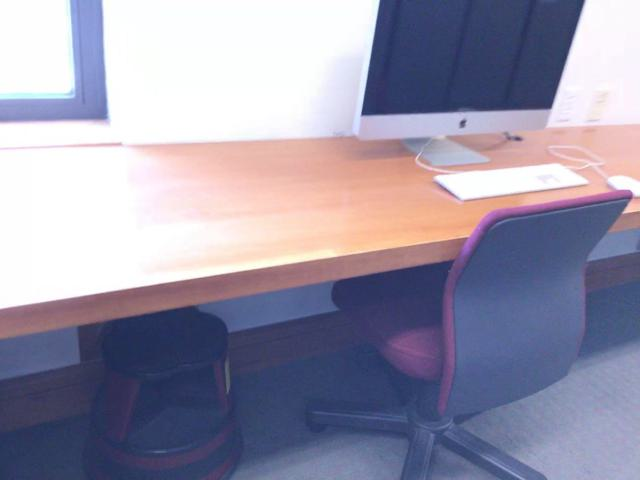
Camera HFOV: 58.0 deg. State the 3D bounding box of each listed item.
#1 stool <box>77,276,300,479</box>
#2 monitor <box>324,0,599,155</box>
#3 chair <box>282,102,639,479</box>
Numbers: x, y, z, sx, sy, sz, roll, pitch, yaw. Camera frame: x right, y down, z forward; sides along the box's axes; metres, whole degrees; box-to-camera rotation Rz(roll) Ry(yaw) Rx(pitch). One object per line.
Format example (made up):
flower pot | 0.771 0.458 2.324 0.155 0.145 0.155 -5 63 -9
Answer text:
stool | -0.360 0.380 1.470 0.410 0.390 0.420 -2 29 -31
monitor | 0.380 -0.480 1.440 0.700 0.510 0.070 -2 29 -31
chair | 0.410 0.200 1.480 0.670 0.890 0.610 -2 29 -31
